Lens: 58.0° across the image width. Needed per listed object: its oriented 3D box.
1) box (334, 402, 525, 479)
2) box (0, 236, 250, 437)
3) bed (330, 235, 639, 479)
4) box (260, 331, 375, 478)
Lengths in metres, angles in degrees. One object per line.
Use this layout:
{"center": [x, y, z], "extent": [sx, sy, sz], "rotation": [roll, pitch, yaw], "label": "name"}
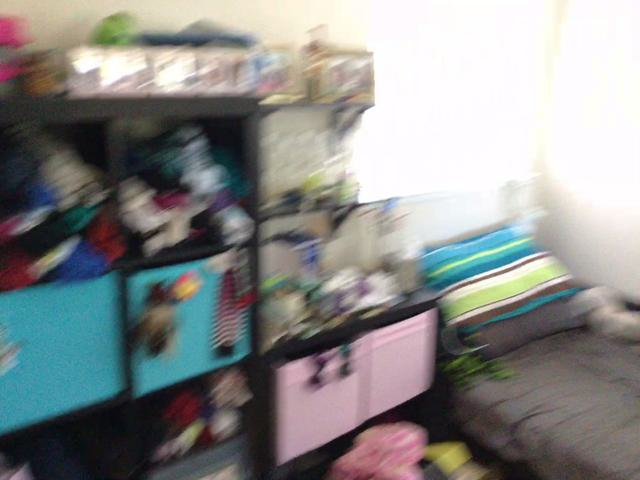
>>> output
{"center": [0.380, 0.860, 2.010], "extent": [0.620, 0.350, 0.290], "rotation": [-6, 14, -35], "label": "box"}
{"center": [-0.590, 0.220, 1.580], "extent": [0.690, 0.320, 0.360], "rotation": [-9, 15, -34], "label": "box"}
{"center": [1.180, 0.660, 1.890], "extent": [1.220, 0.900, 2.160], "rotation": [-6, 14, -35], "label": "bed"}
{"center": [0.000, 0.510, 1.850], "extent": [0.360, 0.370, 0.080], "rotation": [-6, 3, -35], "label": "box"}
